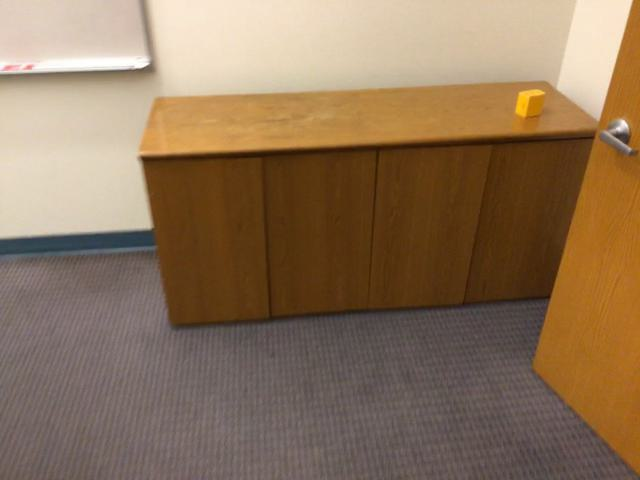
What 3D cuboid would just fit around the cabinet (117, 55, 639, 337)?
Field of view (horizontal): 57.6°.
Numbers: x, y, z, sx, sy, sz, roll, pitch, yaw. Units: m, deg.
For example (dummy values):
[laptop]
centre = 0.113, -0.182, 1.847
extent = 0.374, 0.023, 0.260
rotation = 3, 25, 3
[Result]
[cabinet]
centre = 0.180, -0.180, 2.210
extent = 1.580, 0.820, 0.580
rotation = -3, 33, -2
